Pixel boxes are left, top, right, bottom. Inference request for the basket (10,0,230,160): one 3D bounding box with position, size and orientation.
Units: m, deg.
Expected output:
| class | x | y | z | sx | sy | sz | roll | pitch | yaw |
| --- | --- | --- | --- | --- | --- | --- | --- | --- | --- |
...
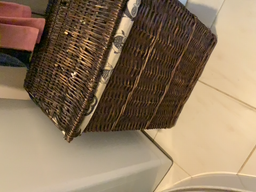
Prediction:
| class | x | y | z | sx | sy | sz | roll | pitch | yaw |
| --- | --- | --- | --- | --- | --- | --- | --- | --- | --- |
| basket | -0.050 | -0.160 | 0.780 | 0.480 | 0.460 | 0.520 | 34 | 107 | 39 |
